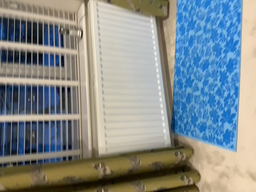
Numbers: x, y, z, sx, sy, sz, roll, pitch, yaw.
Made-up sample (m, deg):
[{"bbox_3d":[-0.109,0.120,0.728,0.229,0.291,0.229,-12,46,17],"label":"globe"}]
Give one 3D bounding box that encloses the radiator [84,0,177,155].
[{"bbox_3d":[0.020,-0.190,1.680,0.110,0.680,1.200,-23,68,61],"label":"radiator"}]
